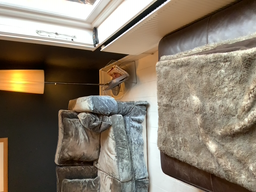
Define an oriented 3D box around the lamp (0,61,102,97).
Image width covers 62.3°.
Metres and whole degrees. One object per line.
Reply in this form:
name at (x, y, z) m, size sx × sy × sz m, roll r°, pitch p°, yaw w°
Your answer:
lamp at (-1.090, -0.190, 2.710) m, size 0.350 × 1.470 × 0.370 m, roll -4°, pitch 86°, yaw 62°
